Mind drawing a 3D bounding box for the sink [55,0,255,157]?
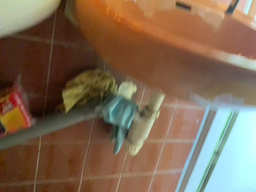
[{"bbox_3d":[0.160,-0.100,0.470,0.560,0.200,0.440,5,21,-25],"label":"sink"}]
